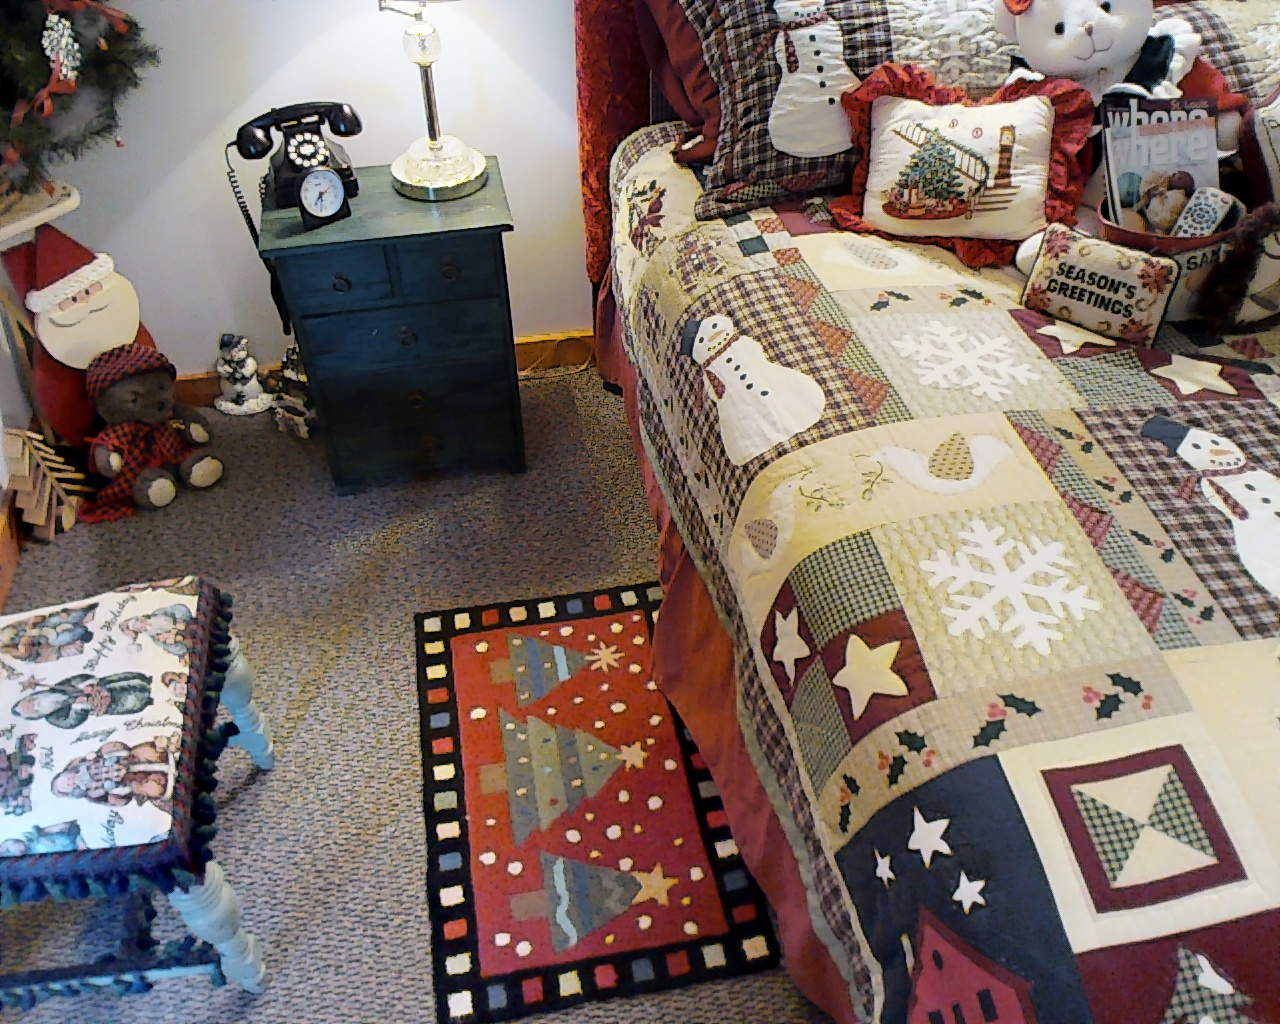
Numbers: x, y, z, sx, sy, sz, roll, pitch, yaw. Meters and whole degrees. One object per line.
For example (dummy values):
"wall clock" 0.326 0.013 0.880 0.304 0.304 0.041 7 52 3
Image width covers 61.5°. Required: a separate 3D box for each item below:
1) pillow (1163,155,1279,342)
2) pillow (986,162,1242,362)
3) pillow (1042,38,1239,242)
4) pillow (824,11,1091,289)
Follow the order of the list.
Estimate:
"pillow" 0.960 -0.410 1.610 0.290 0.180 0.140 -26 49 -26
"pillow" 0.720 -0.390 1.640 0.270 0.130 0.270 24 48 24
"pillow" 0.770 -0.560 1.650 0.190 0.120 0.250 -46 -30 25
"pillow" 0.510 -0.580 1.750 0.250 0.340 0.080 -41 3 22
